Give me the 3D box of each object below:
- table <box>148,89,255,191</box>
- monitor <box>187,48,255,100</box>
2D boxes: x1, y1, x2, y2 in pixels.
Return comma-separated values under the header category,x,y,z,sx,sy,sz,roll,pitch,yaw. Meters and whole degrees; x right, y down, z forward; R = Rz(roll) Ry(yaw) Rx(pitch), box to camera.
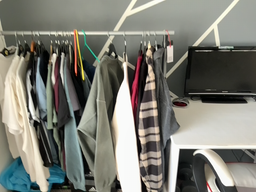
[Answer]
category,x,y,z,sx,sy,sz,roll,pitch,yaw
table,0.790,0.420,1.390,1.250,0.740,0.670,0,22,1
monitor,0.680,-0.140,1.420,0.520,0.350,0.030,0,22,1
